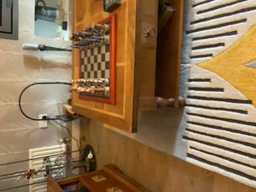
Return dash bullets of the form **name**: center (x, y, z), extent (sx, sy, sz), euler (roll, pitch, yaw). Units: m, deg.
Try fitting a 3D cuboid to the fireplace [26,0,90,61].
- **fireplace**: center (-0.880, -0.990, 2.590), extent (0.740, 0.540, 1.030), euler (6, 96, 54)
